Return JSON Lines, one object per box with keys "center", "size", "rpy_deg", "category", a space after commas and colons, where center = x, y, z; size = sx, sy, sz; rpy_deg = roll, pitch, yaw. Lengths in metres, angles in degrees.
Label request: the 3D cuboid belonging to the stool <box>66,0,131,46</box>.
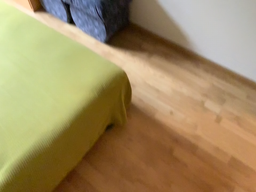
{"center": [-0.210, -0.670, 1.600], "size": [0.360, 0.360, 0.310], "rpy_deg": [30, 61, 18], "category": "stool"}
